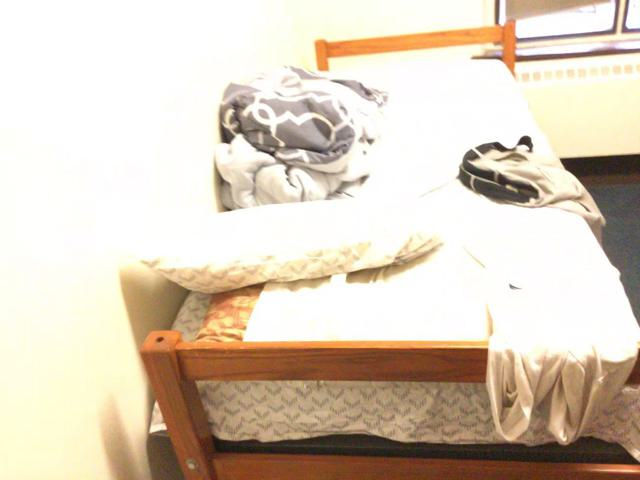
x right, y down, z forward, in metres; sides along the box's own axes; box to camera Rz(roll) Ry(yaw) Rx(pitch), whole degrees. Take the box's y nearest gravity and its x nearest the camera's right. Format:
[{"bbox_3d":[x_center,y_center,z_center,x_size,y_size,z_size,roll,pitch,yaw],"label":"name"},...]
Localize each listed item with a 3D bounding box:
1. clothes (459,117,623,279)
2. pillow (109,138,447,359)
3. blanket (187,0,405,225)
[{"bbox_3d":[0.570,-0.120,1.580,0.360,0.260,0.390,-2,35,14],"label":"clothes"},{"bbox_3d":[-0.040,0.000,1.250,0.600,0.210,0.480,-2,35,14],"label":"pillow"},{"bbox_3d":[0.010,-0.480,1.870,0.430,0.290,1.100,-2,35,14],"label":"blanket"}]
